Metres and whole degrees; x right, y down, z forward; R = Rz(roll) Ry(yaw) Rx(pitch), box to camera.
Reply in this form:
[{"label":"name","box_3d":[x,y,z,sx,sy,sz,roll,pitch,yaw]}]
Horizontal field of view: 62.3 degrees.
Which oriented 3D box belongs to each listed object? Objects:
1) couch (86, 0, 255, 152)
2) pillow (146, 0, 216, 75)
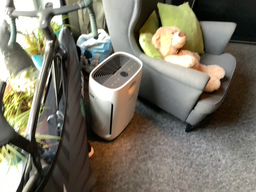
[{"label":"couch","box_3d":[0.330,-0.360,1.570,0.930,0.980,0.820,26,50,14]},{"label":"pillow","box_3d":[0.390,-0.470,1.630,0.410,0.430,0.290,-26,39,-29]}]
